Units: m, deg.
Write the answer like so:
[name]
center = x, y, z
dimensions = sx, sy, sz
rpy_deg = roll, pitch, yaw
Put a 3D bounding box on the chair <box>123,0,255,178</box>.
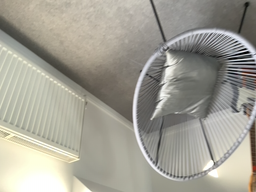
[chair]
center = 0.370, -0.030, 1.300
dimensions = 0.710, 0.810, 0.800
rpy_deg = 1, 144, -6
